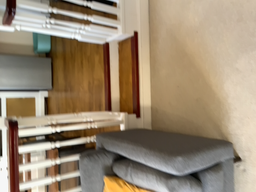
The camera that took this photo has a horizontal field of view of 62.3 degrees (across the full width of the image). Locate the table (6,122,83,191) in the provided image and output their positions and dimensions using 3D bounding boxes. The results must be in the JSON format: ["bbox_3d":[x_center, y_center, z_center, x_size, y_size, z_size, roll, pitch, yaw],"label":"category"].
[{"bbox_3d":[-1.140,1.320,2.860,0.870,0.750,1.780,0,91,53],"label":"table"}]

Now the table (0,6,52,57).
[{"bbox_3d":[-1.830,-1.060,3.600,0.360,0.930,0.660,-2,89,53],"label":"table"}]
